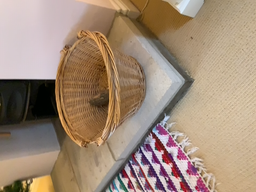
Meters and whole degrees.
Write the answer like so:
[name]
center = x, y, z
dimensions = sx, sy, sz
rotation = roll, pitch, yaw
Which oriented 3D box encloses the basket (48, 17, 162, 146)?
[basket]
center = -0.120, -0.050, 0.840
dimensions = 0.320, 0.240, 0.340
rotation = 59, 134, 31
